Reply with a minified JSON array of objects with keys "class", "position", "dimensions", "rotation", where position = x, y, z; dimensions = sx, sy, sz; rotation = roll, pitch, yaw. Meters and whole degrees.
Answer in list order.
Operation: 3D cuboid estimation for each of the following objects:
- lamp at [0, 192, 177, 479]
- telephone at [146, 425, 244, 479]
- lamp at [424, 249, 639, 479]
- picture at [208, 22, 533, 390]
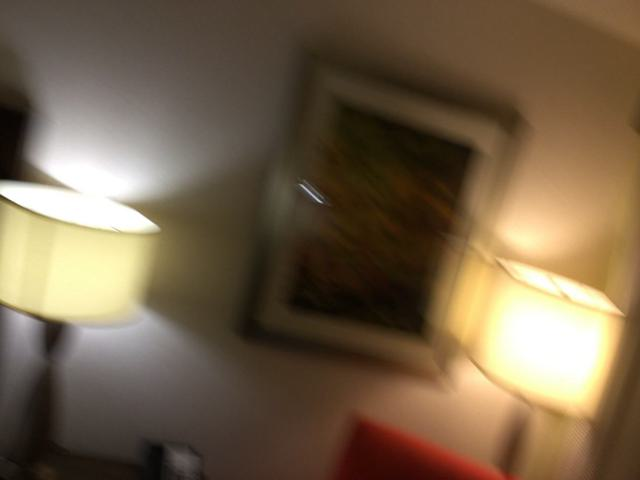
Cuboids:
[{"class":"lamp","position":[-0.710,0.310,1.540],"dimensions":[0.420,0.750,0.430],"rotation":[16,4,-20]},{"class":"telephone","position":[-0.410,0.750,1.870],"dimensions":[0.250,0.200,0.170],"rotation":[16,4,-20]},{"class":"lamp","position":[0.660,0.390,1.820],"dimensions":[0.360,0.590,0.380],"rotation":[16,4,-20]},{"class":"picture","position":[0.180,-0.060,1.880],"dimensions":[0.820,0.980,0.110],"rotation":[16,4,-20]}]
